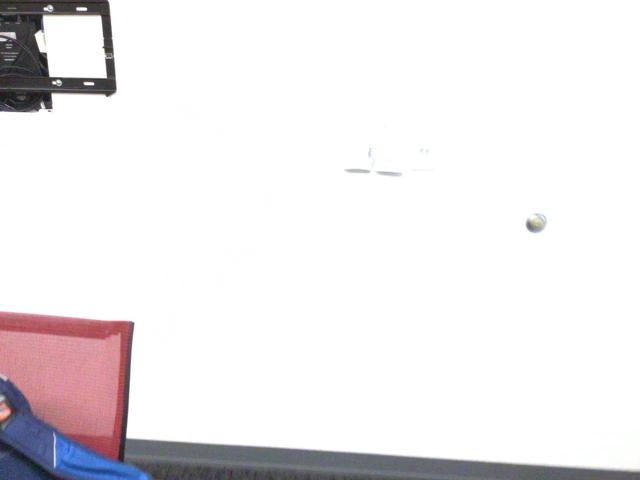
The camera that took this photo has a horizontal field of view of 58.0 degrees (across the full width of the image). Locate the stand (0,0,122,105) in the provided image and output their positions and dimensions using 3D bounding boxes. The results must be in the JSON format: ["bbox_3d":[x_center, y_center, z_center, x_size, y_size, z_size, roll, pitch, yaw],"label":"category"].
[{"bbox_3d":[-0.980,-0.570,1.710,0.740,0.330,0.070,-1,17,4],"label":"stand"}]
